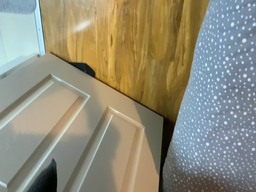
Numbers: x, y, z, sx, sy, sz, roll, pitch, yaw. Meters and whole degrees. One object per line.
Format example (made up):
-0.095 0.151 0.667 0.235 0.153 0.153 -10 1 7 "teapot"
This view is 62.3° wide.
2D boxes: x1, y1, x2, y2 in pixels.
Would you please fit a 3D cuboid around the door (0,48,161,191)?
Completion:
-0.300 0.390 0.420 0.720 2.070 0.020 29 121 -5 "door"
